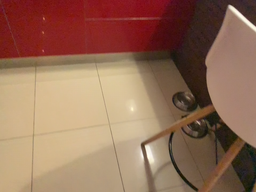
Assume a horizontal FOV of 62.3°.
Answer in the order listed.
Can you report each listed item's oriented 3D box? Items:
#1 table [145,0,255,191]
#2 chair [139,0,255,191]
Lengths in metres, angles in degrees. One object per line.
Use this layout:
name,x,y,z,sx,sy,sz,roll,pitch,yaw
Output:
table,0.710,-0.380,1.400,0.370,1.140,2.040,-7,51,-15
chair,0.480,0.140,0.970,0.560,1.060,0.600,-5,51,-14
